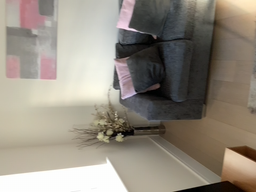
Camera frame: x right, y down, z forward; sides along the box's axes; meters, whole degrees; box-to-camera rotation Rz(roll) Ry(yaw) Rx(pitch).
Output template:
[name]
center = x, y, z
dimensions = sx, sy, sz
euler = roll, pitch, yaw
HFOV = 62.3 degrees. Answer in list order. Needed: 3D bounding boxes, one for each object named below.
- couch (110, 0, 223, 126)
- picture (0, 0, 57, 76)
[couch]
center = 0.330, -0.570, 2.290
dimensions = 0.940, 0.730, 1.530
euler = -156, 69, -67
[picture]
center = -1.030, -0.800, 2.230
dimensions = 0.080, 0.530, 1.150
euler = -152, 65, -66
